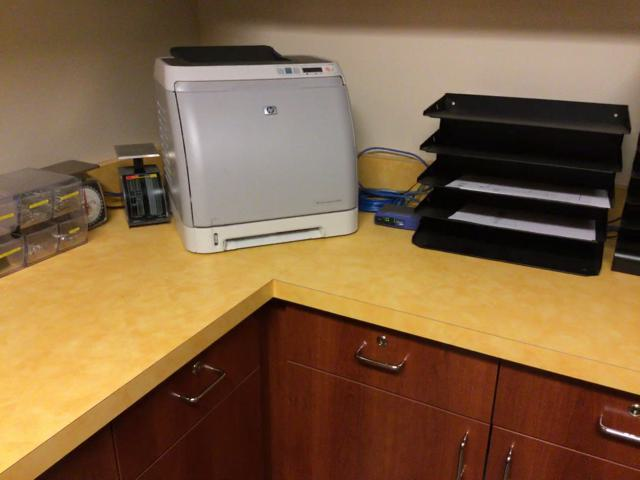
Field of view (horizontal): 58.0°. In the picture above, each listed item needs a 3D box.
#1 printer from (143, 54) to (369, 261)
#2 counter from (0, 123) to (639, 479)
[{"bbox_3d":[-0.170,-0.240,1.410,0.410,0.380,0.470,-10,21,-20],"label":"printer"},{"bbox_3d":[-0.350,0.300,0.430,1.510,0.290,2.790,9,23,28],"label":"counter"}]
